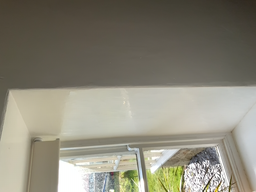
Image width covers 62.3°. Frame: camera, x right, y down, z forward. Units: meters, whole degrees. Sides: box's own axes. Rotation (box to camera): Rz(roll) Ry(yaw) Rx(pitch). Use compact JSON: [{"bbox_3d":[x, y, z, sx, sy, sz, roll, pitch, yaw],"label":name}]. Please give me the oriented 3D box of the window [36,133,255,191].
[{"bbox_3d":[0.190,0.690,1.110,0.100,1.290,0.920,105,161,-60],"label":"window"}]
